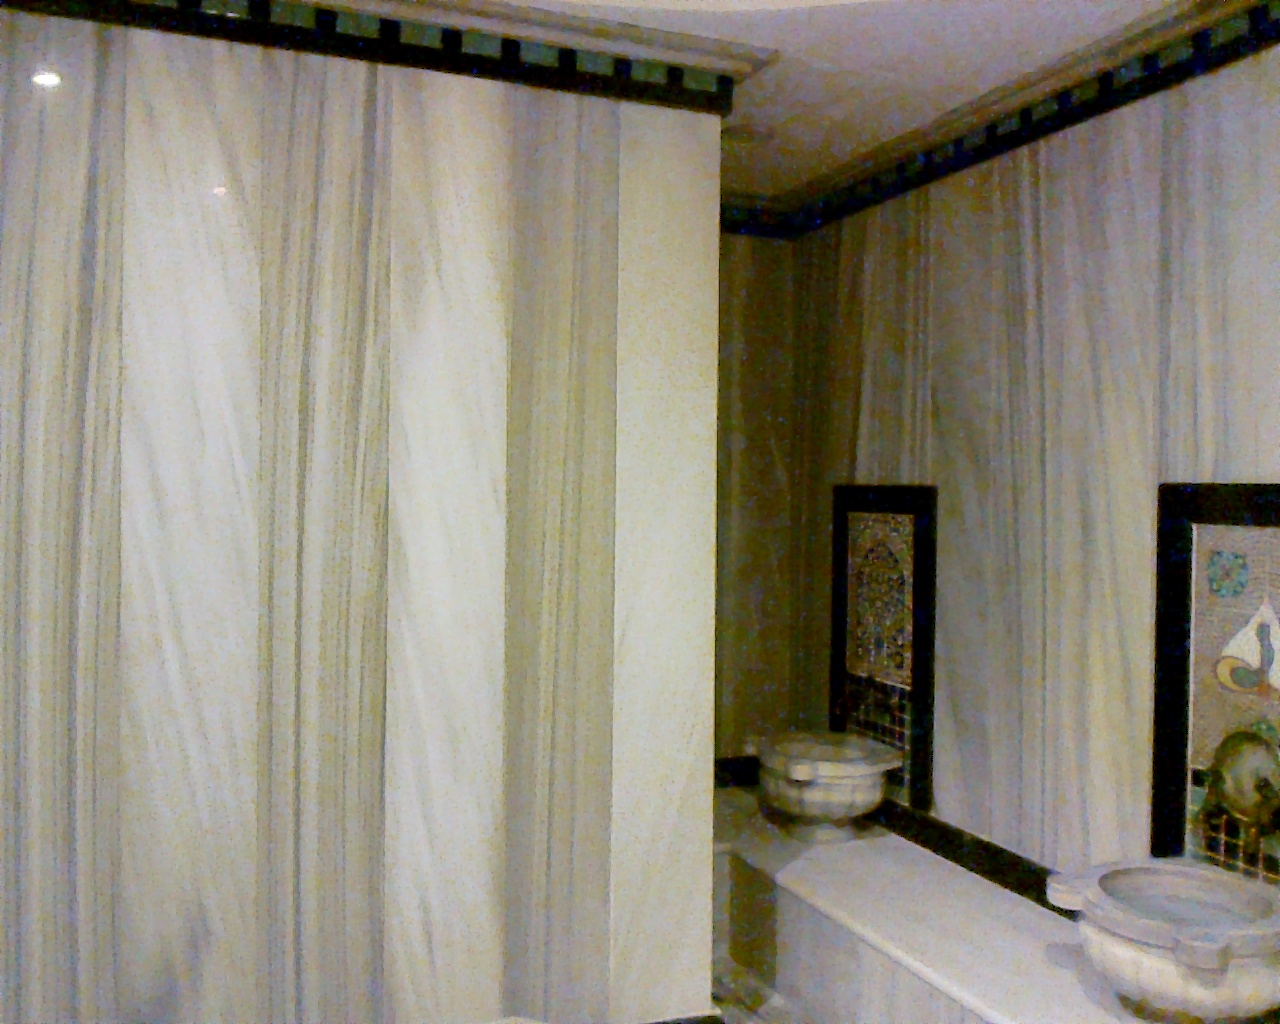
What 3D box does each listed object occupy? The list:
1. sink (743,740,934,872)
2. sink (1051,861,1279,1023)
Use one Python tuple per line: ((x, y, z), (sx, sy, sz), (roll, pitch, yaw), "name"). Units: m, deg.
((0.690, 1.020, 3.810), (0.470, 0.290, 0.490), (0, 0, -24), "sink")
((1.270, 1.040, 2.420), (0.460, 0.320, 0.450), (0, 0, -24), "sink")
